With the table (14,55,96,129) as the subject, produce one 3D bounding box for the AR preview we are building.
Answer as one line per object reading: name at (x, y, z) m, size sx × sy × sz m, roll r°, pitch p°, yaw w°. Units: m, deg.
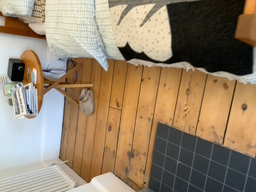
table at (-0.730, -0.070, 2.090) m, size 0.570 × 0.540 × 0.550 m, roll 17°, pitch 104°, yaw 43°
